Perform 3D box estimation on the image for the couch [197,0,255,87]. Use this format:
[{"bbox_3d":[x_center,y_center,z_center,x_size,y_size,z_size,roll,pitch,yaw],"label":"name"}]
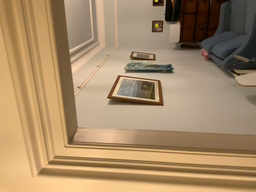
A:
[{"bbox_3d":[1.700,-0.960,3.170,1.560,0.840,1.190,-76,-13,-67],"label":"couch"}]
